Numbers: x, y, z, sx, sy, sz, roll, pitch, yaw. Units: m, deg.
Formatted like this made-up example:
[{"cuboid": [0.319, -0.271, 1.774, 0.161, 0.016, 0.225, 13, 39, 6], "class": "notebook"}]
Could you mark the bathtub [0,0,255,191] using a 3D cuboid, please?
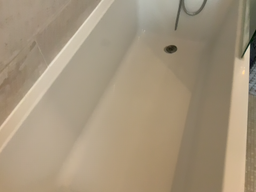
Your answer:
[{"cuboid": [0.110, 0.020, 1.080, 0.760, 0.580, 1.660, 16, 55, 12], "class": "bathtub"}]
